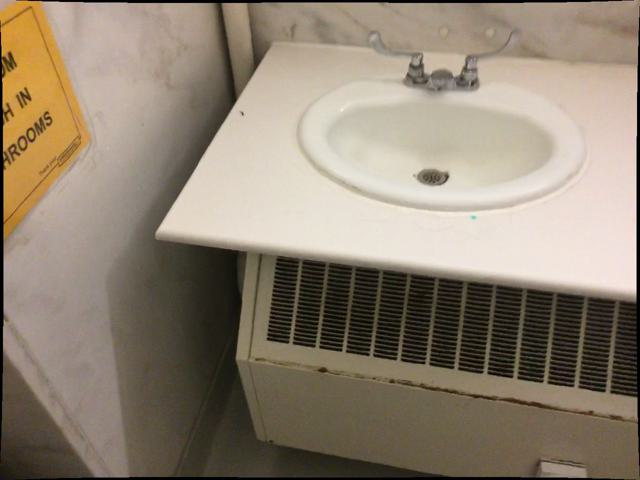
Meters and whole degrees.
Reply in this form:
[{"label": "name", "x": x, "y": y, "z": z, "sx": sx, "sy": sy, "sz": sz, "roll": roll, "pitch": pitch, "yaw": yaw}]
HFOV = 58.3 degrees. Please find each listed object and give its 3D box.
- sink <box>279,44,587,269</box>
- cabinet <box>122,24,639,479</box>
[{"label": "sink", "x": 0.200, "y": -0.180, "z": 1.080, "sx": 0.460, "sy": 0.200, "sz": 0.400, "roll": 5, "pitch": 42, "yaw": 9}, {"label": "cabinet", "x": 0.520, "y": 0.070, "z": 1.200, "sx": 1.469, "sy": 0.710, "sz": 0.730, "roll": 5, "pitch": 42, "yaw": 9}]
